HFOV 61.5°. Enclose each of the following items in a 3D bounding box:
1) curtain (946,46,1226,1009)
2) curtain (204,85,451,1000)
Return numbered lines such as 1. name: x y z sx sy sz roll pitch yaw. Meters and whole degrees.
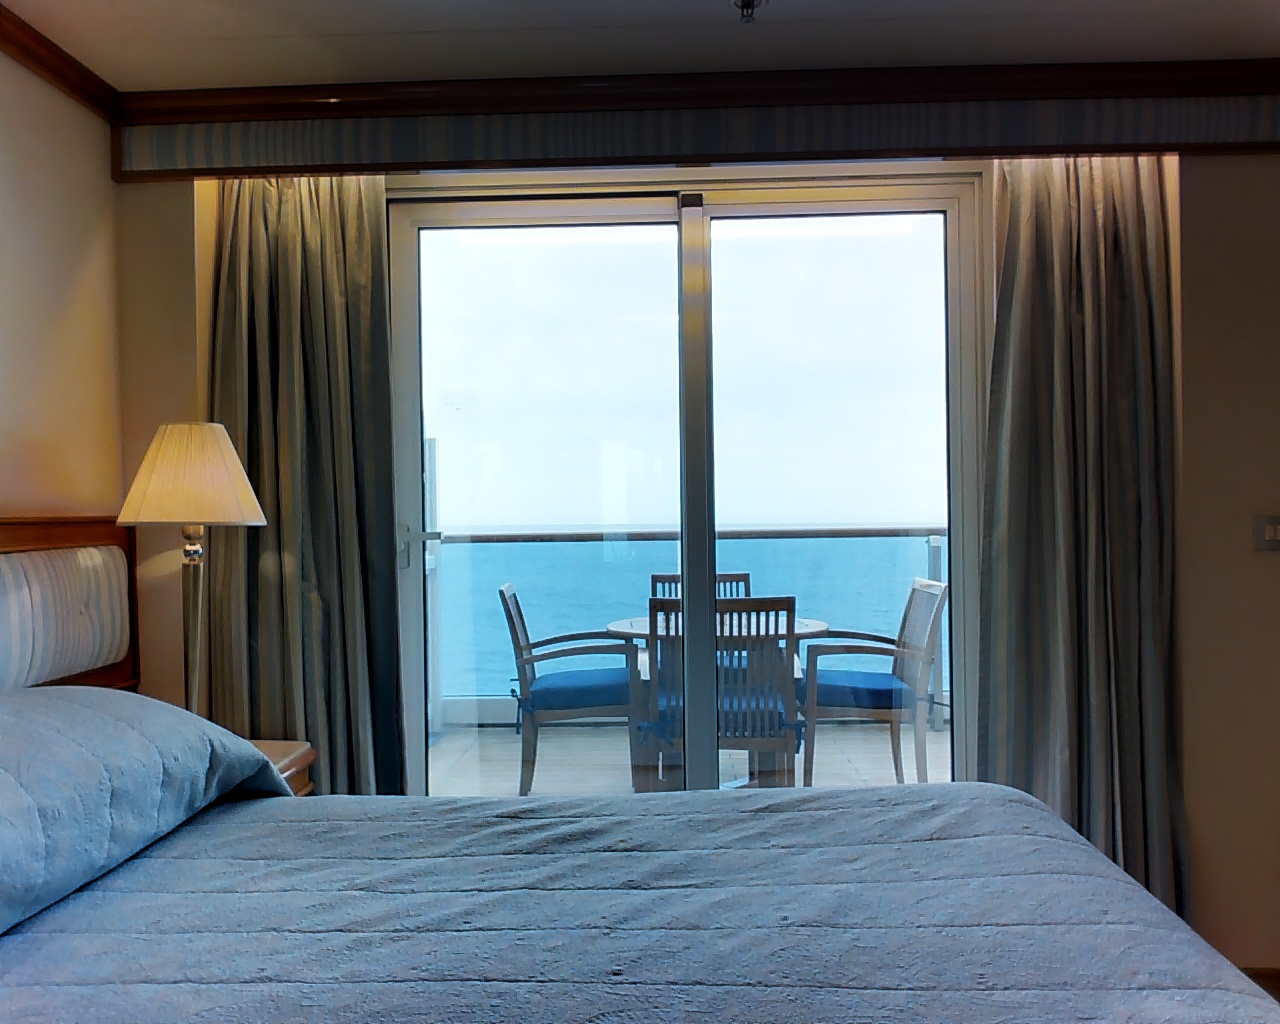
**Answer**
1. curtain: 1.060 0.040 2.610 0.510 2.170 0.350 -1 1 1
2. curtain: -0.770 0.080 2.700 0.490 2.170 0.270 -1 1 4
